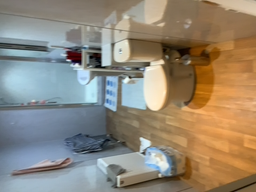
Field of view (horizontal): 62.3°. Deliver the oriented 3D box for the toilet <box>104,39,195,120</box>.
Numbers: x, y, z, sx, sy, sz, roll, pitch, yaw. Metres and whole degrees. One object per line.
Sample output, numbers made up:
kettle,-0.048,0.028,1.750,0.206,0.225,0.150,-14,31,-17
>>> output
toilet,0.220,-0.160,2.150,0.360,0.840,0.680,11,100,60
